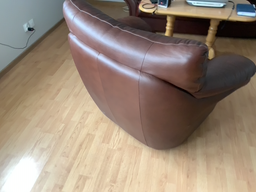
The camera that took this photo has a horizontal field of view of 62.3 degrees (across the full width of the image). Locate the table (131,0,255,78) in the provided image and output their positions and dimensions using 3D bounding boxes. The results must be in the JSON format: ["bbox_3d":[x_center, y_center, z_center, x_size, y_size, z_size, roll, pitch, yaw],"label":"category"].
[{"bbox_3d":[0.630,-0.690,2.320,1.090,0.640,0.560,9,43,9],"label":"table"}]
